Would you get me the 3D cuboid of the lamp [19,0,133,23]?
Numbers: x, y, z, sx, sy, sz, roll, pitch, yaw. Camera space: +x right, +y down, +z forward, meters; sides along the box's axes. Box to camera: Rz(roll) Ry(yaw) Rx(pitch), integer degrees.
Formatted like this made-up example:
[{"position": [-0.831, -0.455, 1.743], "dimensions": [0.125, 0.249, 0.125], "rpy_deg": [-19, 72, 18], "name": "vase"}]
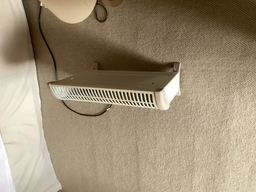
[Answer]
[{"position": [-0.180, -0.470, 0.890], "dimensions": [0.240, 0.480, 0.290], "rpy_deg": [10, 110, 21], "name": "lamp"}]
